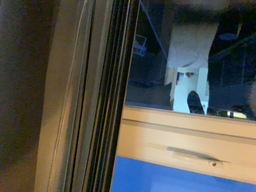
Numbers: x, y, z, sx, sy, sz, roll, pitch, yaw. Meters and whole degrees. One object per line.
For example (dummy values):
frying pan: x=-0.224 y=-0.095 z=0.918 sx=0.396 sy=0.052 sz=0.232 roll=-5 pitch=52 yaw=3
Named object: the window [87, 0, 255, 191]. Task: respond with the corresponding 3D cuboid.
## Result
window: x=0.280 y=0.130 z=0.630 sx=0.760 sy=1.260 sz=0.140 roll=6 pitch=173 yaw=21
